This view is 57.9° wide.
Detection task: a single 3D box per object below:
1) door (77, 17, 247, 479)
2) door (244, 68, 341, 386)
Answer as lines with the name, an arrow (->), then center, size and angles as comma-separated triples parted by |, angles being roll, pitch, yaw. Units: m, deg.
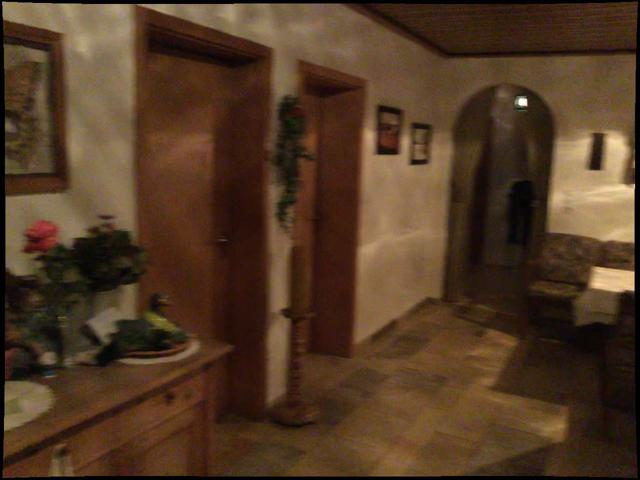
door -> -0.689, 0.050, 2.760 | 0.140, 1.942, 0.910 | 8, 11, 28
door -> -0.170, -0.100, 3.810 | 0.160, 1.892, 0.860 | 8, 11, 28
